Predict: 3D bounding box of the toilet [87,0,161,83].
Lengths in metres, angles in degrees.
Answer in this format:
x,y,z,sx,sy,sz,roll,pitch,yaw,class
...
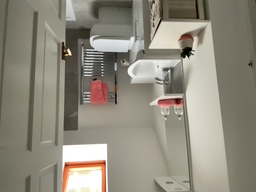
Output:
x,y,z,sx,sy,sz,roll,pitch,yaw,class
-0.070,-0.620,2.570,0.790,0.840,0.470,-1,170,-6,toilet
